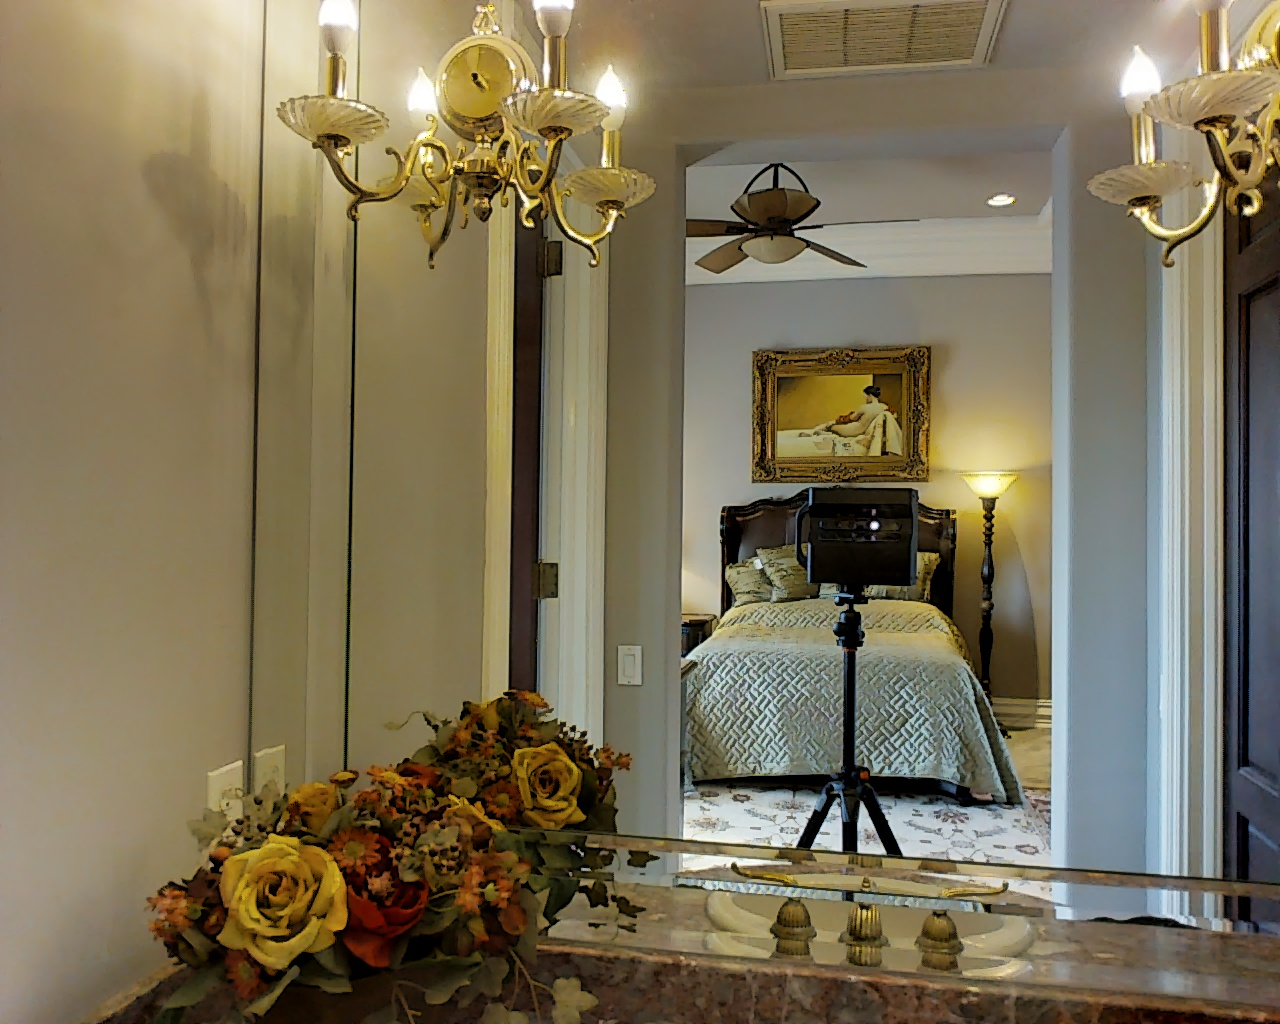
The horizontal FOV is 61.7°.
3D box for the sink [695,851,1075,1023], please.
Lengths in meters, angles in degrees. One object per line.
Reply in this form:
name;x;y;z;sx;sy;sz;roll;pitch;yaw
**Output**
sink;0.370;0.690;1.670;0.520;0.180;0.330;1;0;12
